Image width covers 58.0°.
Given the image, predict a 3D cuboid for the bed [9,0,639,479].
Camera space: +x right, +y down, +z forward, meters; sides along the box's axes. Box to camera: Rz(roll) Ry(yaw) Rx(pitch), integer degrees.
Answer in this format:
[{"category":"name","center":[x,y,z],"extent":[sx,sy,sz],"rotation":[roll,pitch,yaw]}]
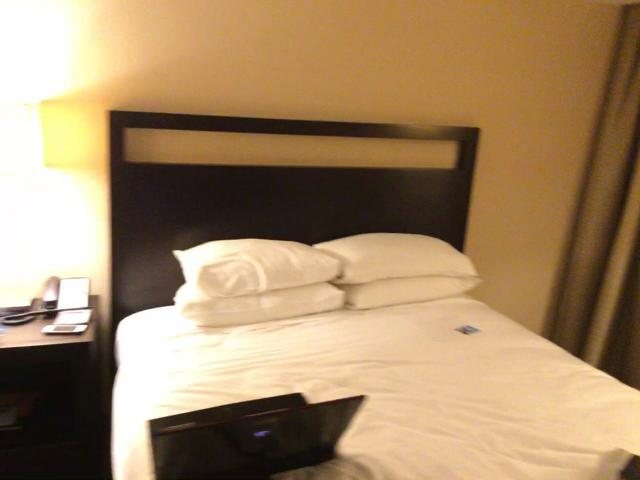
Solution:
[{"category":"bed","center":[0.270,0.400,1.630],"extent":[1.660,1.530,2.080],"rotation":[0,12,-19]}]
